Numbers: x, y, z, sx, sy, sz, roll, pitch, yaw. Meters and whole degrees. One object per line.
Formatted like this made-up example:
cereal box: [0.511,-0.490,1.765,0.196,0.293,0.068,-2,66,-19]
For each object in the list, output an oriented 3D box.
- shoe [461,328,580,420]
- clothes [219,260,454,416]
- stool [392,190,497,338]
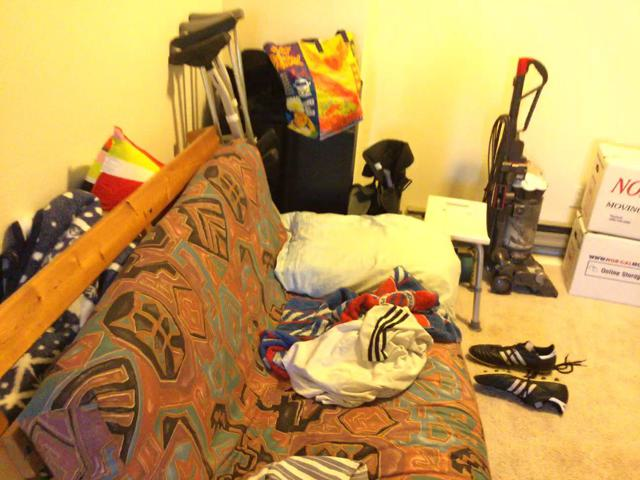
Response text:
shoe: [0.720,0.480,2.130,0.380,0.100,0.360,3,24,14]
clothes: [0.080,0.240,1.620,0.560,0.140,0.490,3,24,13]
stool: [0.540,0.080,2.510,0.390,0.430,0.530,3,24,14]
